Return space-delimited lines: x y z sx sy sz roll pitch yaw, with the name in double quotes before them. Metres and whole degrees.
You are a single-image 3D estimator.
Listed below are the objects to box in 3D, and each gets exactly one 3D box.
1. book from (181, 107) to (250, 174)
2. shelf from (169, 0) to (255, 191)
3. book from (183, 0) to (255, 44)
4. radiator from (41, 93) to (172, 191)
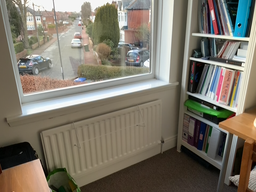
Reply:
"book" 0.810 0.400 2.070 0.230 0.380 0.570 -11 23 -26
"shelf" 0.770 -0.190 1.840 0.340 1.880 0.670 -14 24 -31
"book" 0.760 -0.640 1.700 0.290 0.360 0.530 -14 24 -30
"radiator" -0.100 0.420 1.980 1.230 0.680 0.080 -13 24 -28
